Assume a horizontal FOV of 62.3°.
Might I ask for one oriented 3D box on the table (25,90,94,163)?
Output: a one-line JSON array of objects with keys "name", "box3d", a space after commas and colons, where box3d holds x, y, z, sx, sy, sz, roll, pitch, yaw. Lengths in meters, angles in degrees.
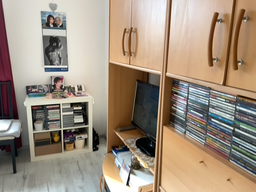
[{"name": "table", "box3d": [-0.930, 0.380, 2.940, 0.820, 0.810, 0.420, -4, 15, -23]}]
